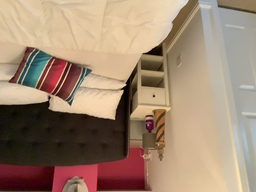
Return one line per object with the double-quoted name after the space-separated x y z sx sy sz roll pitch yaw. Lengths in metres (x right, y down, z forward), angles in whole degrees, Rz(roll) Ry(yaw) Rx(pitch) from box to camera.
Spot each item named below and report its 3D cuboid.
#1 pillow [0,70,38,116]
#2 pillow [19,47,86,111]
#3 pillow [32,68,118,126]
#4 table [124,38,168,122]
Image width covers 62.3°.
-1.180 -0.030 2.000 0.520 0.400 0.210 4 -130 -9 "pillow"
-0.640 -0.160 1.850 0.460 0.420 0.230 -18 -138 -35 "pillow"
-0.510 0.020 2.120 0.760 0.480 0.190 6 -152 -6 "pillow"
0.170 -0.160 2.440 0.340 0.530 0.790 3 -110 -10 "table"
